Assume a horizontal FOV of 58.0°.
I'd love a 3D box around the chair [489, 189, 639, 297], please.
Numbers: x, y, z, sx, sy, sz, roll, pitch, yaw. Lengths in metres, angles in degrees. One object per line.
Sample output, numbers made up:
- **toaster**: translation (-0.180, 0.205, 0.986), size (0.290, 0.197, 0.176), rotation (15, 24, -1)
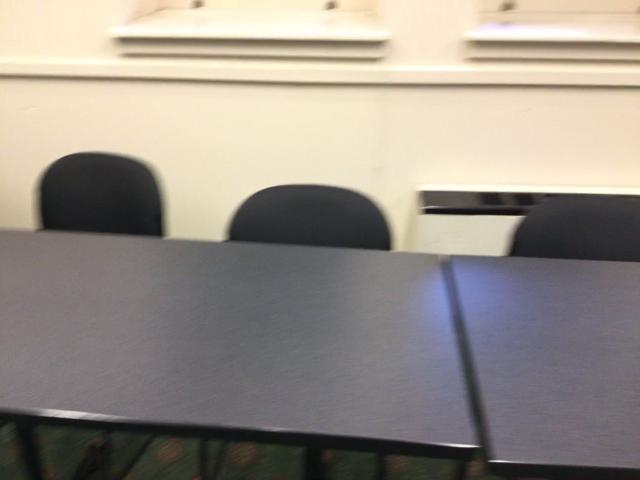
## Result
- **chair**: translation (0.690, 0.000, 1.440), size (0.460, 0.170, 0.260), rotation (1, 26, 3)
